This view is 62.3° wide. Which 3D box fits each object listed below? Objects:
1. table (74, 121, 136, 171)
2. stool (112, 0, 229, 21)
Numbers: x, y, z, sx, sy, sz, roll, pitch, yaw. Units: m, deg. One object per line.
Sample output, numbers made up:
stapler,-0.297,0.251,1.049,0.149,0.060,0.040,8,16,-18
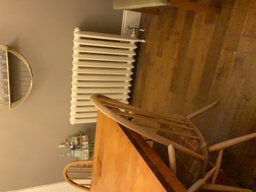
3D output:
table,-0.310,0.620,2.740,0.390,0.670,0.390,-138,51,-57
stool,0.270,-0.850,1.670,0.950,0.460,0.370,-137,51,-57
